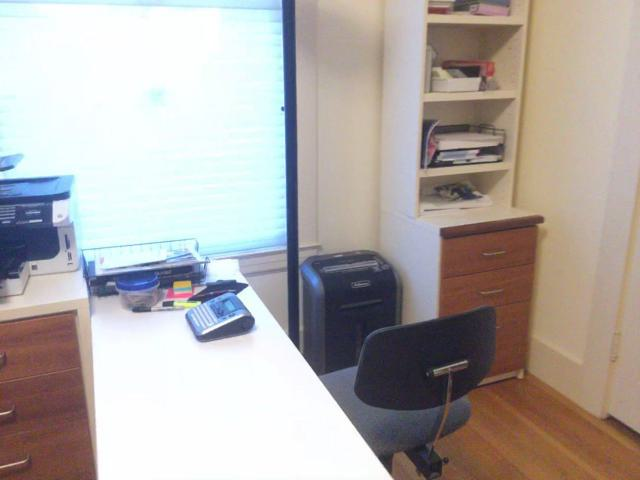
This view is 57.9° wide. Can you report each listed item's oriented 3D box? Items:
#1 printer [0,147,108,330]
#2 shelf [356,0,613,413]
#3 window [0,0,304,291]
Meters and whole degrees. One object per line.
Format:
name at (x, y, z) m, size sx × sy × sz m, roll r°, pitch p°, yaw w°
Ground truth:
printer at (-0.910, -0.030, 1.600) m, size 0.520 × 0.370 × 0.570 m, roll -6°, pitch 18°, yaw -25°
shelf at (0.610, -0.490, 2.260) m, size 0.670 × 2.160 × 0.550 m, roll -6°, pitch 18°, yaw -25°
window at (-0.550, -0.720, 1.900) m, size 1.040 × 1.710 × 0.100 m, roll -6°, pitch 18°, yaw -25°
